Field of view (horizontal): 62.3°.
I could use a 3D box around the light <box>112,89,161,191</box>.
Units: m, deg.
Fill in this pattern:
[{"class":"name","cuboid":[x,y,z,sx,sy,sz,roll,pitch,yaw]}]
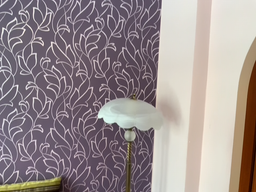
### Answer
[{"class":"light","cuboid":[0.050,0.640,1.750,0.330,1.380,0.160,0,6,-19]}]
